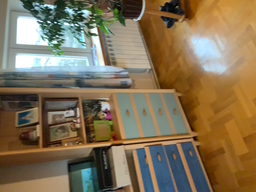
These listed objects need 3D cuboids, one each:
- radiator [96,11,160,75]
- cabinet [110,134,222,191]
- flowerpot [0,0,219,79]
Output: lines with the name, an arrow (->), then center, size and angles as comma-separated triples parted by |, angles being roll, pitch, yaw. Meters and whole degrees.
radiator -> -0.020, -0.770, 3.070 | 0.140, 0.750, 0.980 | 127, 136, -55
cabinet -> 0.370, 0.860, 2.050 | 0.410, 0.890, 0.800 | 126, 137, -54
flowerpot -> -0.330, -1.090, 2.450 | 1.160, 1.940, 1.340 | 125, 138, -54
